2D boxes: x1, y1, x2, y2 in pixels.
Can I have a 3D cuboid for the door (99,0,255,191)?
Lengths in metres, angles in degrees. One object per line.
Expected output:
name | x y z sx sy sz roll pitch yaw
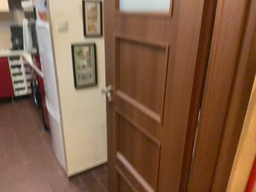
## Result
door | 0.090 0.150 1.080 0.080 1.950 0.860 -12 26 -30
